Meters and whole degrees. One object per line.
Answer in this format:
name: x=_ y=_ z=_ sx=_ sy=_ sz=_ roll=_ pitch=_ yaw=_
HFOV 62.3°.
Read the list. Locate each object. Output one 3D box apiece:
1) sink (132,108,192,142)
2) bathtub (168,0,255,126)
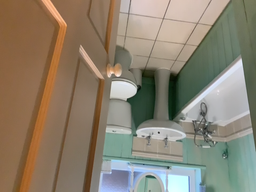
sink: x=0.370 y=0.350 z=2.460 sx=0.580 sy=0.210 sz=0.460 roll=7 pitch=156 yaw=-4
bathtub: x=0.960 y=-0.200 z=2.120 sx=0.680 sy=0.560 sz=1.610 roll=6 pitch=157 yaw=-4
